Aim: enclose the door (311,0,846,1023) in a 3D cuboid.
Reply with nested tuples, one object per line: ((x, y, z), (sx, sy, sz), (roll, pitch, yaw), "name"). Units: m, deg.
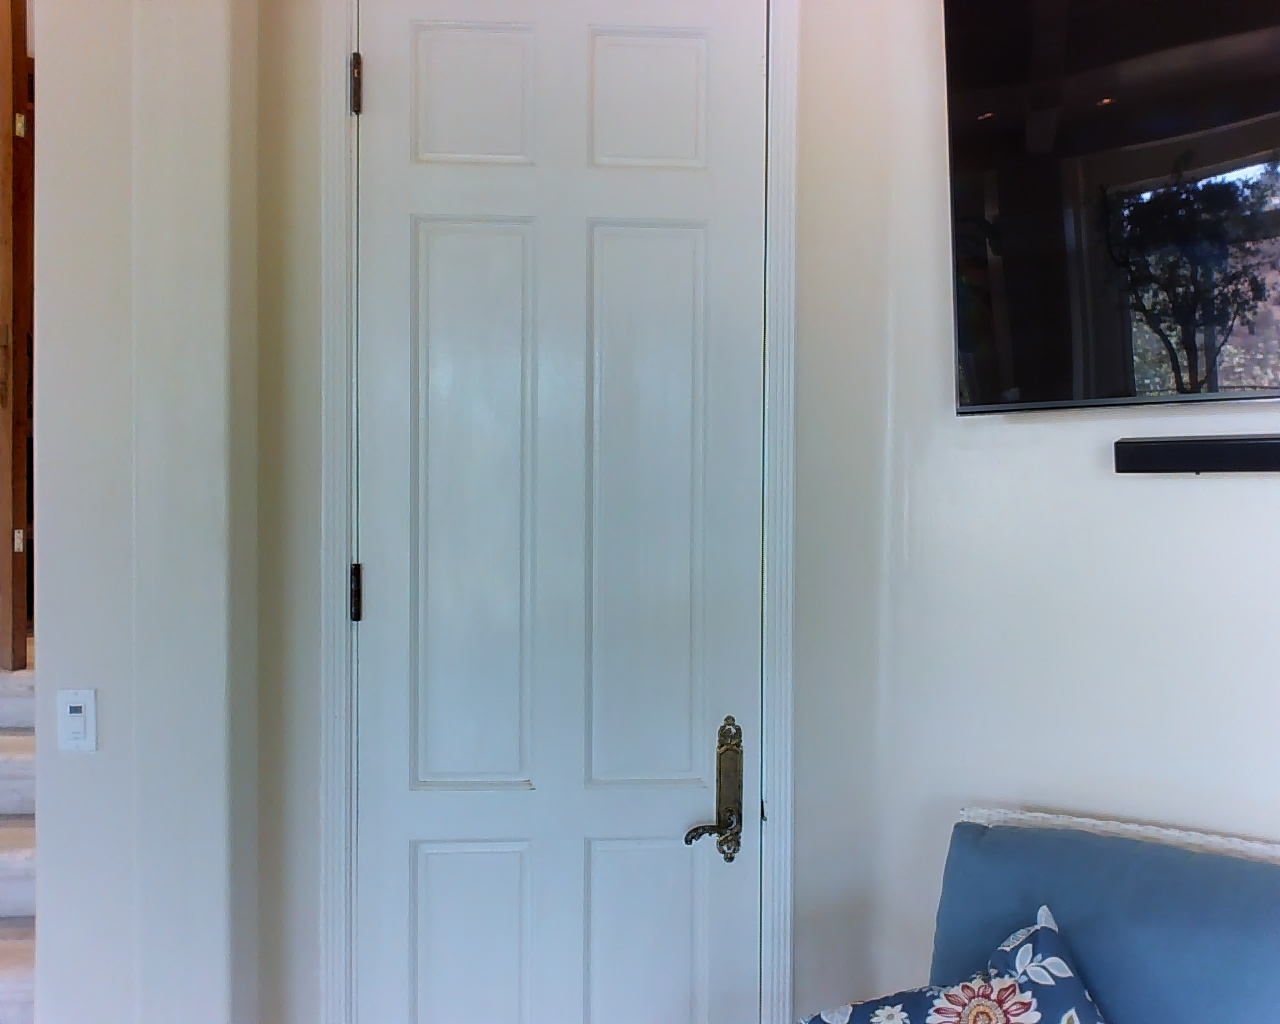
((-0.110, 0.140, 1.980), (0.950, 2.480, 0.080), (1, 0, -3), "door")

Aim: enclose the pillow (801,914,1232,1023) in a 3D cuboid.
((0.490, 0.750, 1.350), (0.480, 0.380, 0.190), (-10, -20, -1), "pillow")
